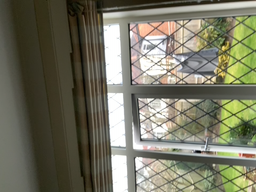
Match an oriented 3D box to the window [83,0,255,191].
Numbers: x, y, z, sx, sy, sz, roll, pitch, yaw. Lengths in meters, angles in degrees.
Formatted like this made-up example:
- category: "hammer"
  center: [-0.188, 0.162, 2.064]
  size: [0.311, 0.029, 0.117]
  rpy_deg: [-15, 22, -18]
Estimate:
- category: "window"
  center: [0.470, 0.120, 1.540]
  size: [0.380, 1.360, 1.750]
  rpy_deg: [-49, -42, -69]
